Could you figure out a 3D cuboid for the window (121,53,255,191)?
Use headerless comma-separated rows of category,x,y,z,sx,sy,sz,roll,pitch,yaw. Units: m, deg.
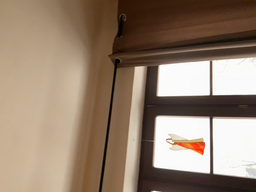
window,0.740,0.400,1.400,0.210,1.530,1.420,44,-130,-59
